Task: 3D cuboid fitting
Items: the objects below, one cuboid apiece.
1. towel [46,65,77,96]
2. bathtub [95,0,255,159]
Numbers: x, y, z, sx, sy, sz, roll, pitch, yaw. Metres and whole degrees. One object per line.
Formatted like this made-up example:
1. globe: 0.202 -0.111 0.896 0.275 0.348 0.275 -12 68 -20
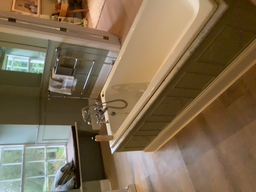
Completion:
1. towel: -1.230 -0.270 3.900 0.460 0.470 0.280 -60 37 42
2. bathtub: 0.290 -0.230 2.130 1.870 0.620 0.950 -58 37 43
